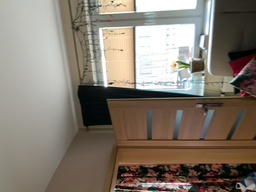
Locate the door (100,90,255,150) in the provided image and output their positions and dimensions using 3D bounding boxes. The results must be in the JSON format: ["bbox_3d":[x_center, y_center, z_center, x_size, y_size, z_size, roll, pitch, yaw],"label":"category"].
[{"bbox_3d":[0.850,0.300,2.280,0.890,2.150,0.160,83,-173,-49],"label":"door"}]
